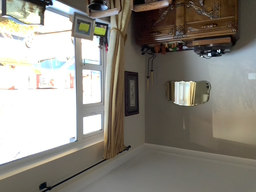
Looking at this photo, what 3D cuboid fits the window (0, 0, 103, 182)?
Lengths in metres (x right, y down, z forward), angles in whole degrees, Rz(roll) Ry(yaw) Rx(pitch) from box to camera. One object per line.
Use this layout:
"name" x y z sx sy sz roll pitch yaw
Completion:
"window" -0.950 -0.070 1.970 0.120 1.500 2.180 2 -176 30

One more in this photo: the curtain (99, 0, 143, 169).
"curtain" -0.070 -0.460 2.620 0.310 2.550 0.500 2 -176 30
